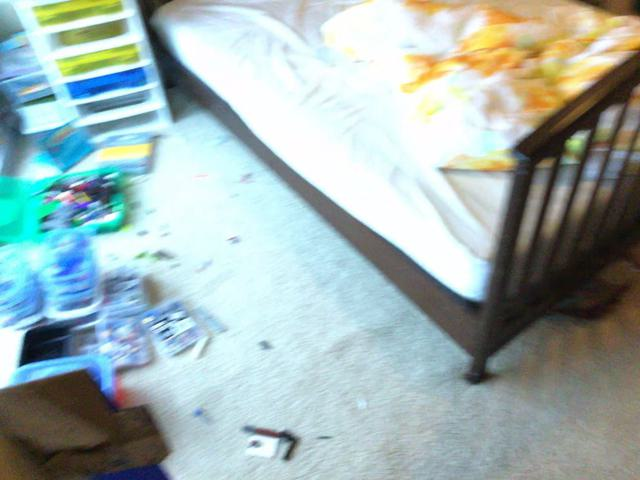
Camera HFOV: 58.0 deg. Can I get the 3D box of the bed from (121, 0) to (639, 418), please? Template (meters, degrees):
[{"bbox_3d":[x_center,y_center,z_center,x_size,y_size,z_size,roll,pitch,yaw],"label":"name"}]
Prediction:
[{"bbox_3d":[0.340,-0.880,1.900,1.480,1.260,2.020,-29,51,-20],"label":"bed"}]
